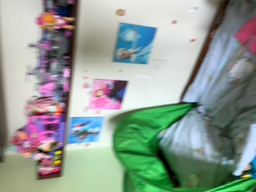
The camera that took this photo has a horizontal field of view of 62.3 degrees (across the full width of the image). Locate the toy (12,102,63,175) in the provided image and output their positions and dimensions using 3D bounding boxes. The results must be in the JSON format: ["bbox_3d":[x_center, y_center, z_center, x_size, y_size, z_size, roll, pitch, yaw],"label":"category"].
[{"bbox_3d":[-0.600,0.280,1.420,0.220,0.270,0.430,-119,36,-50],"label":"toy"}]

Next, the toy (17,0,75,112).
[{"bbox_3d":[-0.410,-0.360,1.060,0.220,0.230,0.930,-119,36,-50],"label":"toy"}]
